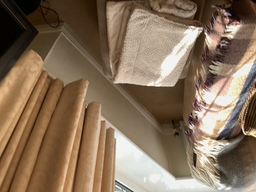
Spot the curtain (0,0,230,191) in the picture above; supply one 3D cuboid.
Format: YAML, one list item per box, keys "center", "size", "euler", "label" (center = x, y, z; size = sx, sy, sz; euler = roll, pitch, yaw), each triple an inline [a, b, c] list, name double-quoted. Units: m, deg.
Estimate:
- center: [-0.200, 0.380, 0.470]
  size: [0.600, 2.400, 0.990]
  euler: [-38, 121, 26]
  label: "curtain"
